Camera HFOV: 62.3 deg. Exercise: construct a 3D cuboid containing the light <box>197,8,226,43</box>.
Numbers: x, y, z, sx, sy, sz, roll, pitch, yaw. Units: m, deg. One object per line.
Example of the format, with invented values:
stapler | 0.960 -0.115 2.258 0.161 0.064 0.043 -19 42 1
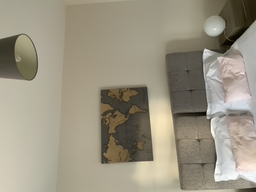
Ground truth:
light | 1.030 -0.870 2.650 0.320 0.220 0.260 81 -174 -72
